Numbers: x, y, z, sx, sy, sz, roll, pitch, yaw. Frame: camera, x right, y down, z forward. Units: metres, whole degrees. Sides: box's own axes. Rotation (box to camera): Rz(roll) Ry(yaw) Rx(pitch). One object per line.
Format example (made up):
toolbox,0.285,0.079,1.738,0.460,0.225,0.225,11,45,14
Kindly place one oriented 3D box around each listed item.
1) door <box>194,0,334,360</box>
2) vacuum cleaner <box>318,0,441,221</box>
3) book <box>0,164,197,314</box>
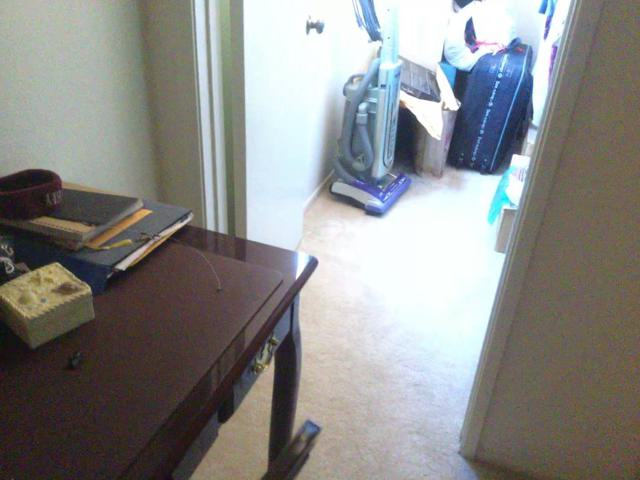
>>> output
door,-0.130,-0.380,1.850,0.100,1.250,0.850,10,30,14
vacuum cleaner,0.260,-0.700,2.520,0.400,1.110,0.420,10,30,13
book,-0.410,-0.020,0.960,0.300,0.080,0.290,10,30,14
